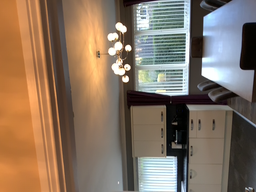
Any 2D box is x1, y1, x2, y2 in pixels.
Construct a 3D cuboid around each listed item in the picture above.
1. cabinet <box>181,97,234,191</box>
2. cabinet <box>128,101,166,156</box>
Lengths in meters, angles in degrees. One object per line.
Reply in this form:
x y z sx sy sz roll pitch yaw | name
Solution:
1.780 2.000 5.010 0.610 0.910 3.900 -67 -25 -76 | cabinet
0.460 0.770 5.000 0.330 0.830 1.250 -67 -25 -76 | cabinet
